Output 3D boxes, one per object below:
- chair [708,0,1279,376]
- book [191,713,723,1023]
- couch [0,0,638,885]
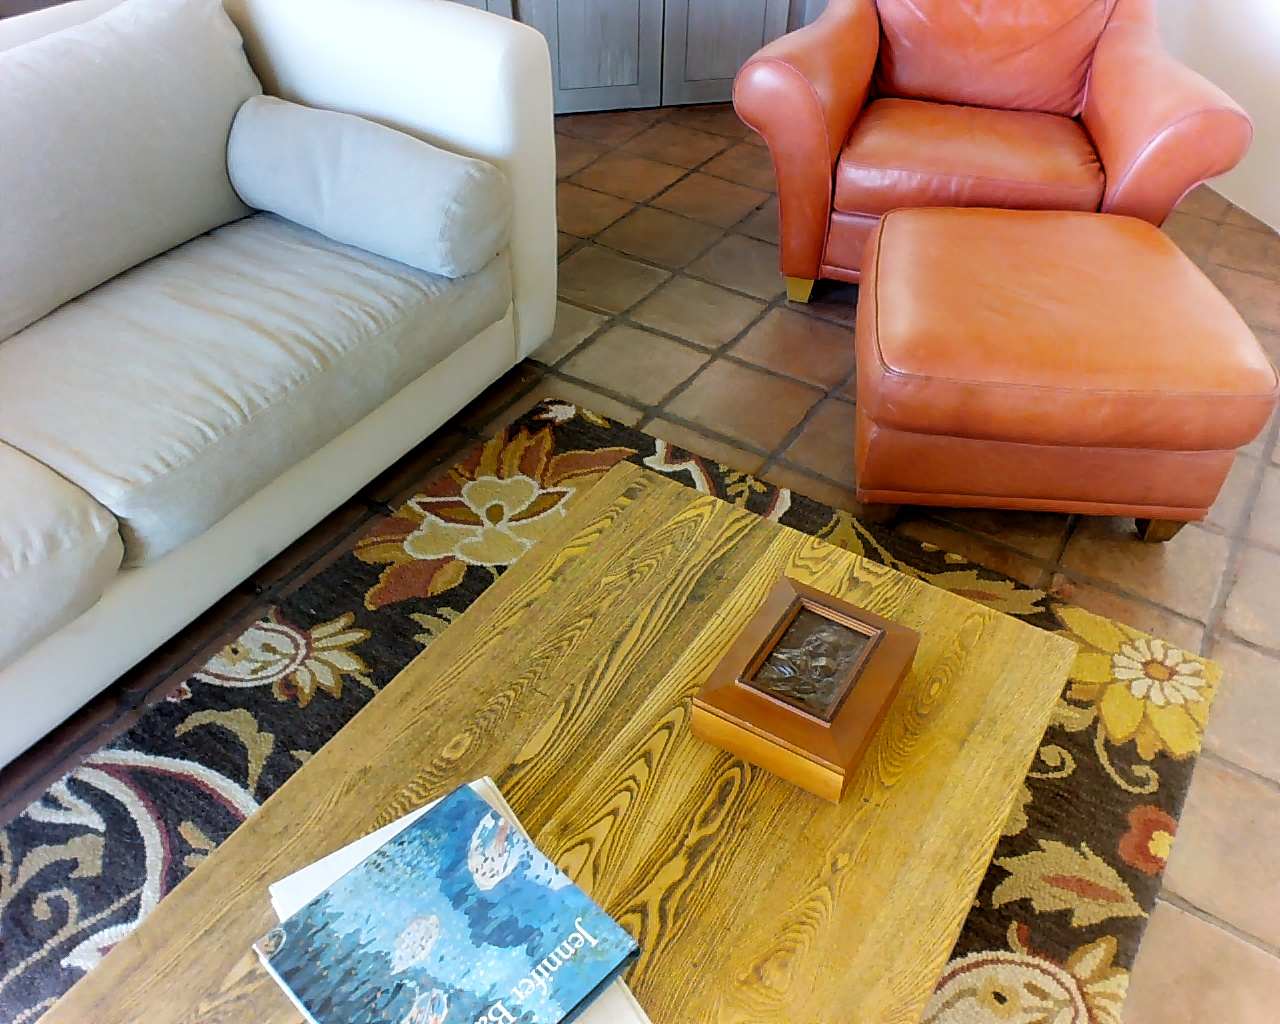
[{"bbox_3d":[0.910,-1.100,2.860,1.200,0.860,1.040,11,42,12],"label":"chair"},{"bbox_3d":[-0.180,0.420,1.040,0.340,0.060,0.390,-30,50,-31],"label":"book"},{"bbox_3d":[-1.180,-0.210,1.810,1.130,0.840,2.590,23,45,23],"label":"couch"}]
